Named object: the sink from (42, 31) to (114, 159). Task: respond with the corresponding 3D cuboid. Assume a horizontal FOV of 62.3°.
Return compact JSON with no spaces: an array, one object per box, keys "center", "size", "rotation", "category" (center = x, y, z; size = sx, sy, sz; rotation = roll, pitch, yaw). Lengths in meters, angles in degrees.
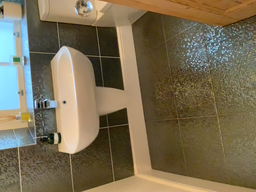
[{"center":[-0.350,0.010,1.370],"size":[0.460,0.250,0.680],"rotation":[-15,81,56],"category":"sink"}]
